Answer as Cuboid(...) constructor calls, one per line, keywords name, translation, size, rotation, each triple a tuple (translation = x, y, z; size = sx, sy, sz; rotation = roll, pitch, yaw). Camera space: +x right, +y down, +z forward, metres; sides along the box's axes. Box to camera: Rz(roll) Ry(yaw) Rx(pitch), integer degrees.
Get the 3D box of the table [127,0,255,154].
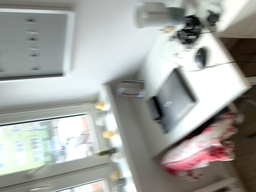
Cuboid(name="table", translation=(0.540, -0.070, 1.550), size=(0.950, 0.710, 0.570), rotation=(121, 136, -53))
